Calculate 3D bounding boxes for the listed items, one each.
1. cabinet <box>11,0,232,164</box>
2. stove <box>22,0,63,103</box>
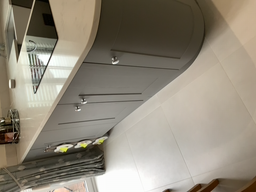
[{"bbox_3d":[-0.320,0.000,1.800,2.030,0.890,0.420,-43,59,44],"label":"cabinet"},{"bbox_3d":[-0.620,-0.370,1.460,0.670,0.010,0.600,-43,59,44],"label":"stove"}]
